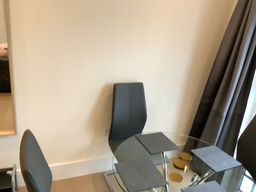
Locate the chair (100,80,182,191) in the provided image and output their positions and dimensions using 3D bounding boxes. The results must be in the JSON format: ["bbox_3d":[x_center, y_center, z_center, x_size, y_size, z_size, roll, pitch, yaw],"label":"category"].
[{"bbox_3d":[0.060,0.420,2.030,0.450,1.020,0.580,-2,21,-24],"label":"chair"}]

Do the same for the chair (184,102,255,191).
[{"bbox_3d":[0.910,0.620,1.760,0.550,1.020,0.480,-1,20,-22],"label":"chair"}]
